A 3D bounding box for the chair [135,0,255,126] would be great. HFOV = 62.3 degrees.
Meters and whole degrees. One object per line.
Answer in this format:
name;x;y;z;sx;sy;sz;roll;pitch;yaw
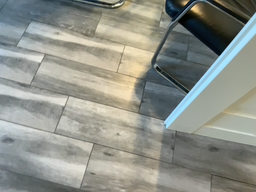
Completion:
chair;0.550;-0.400;1.090;0.660;0.920;0.590;37;66;9
